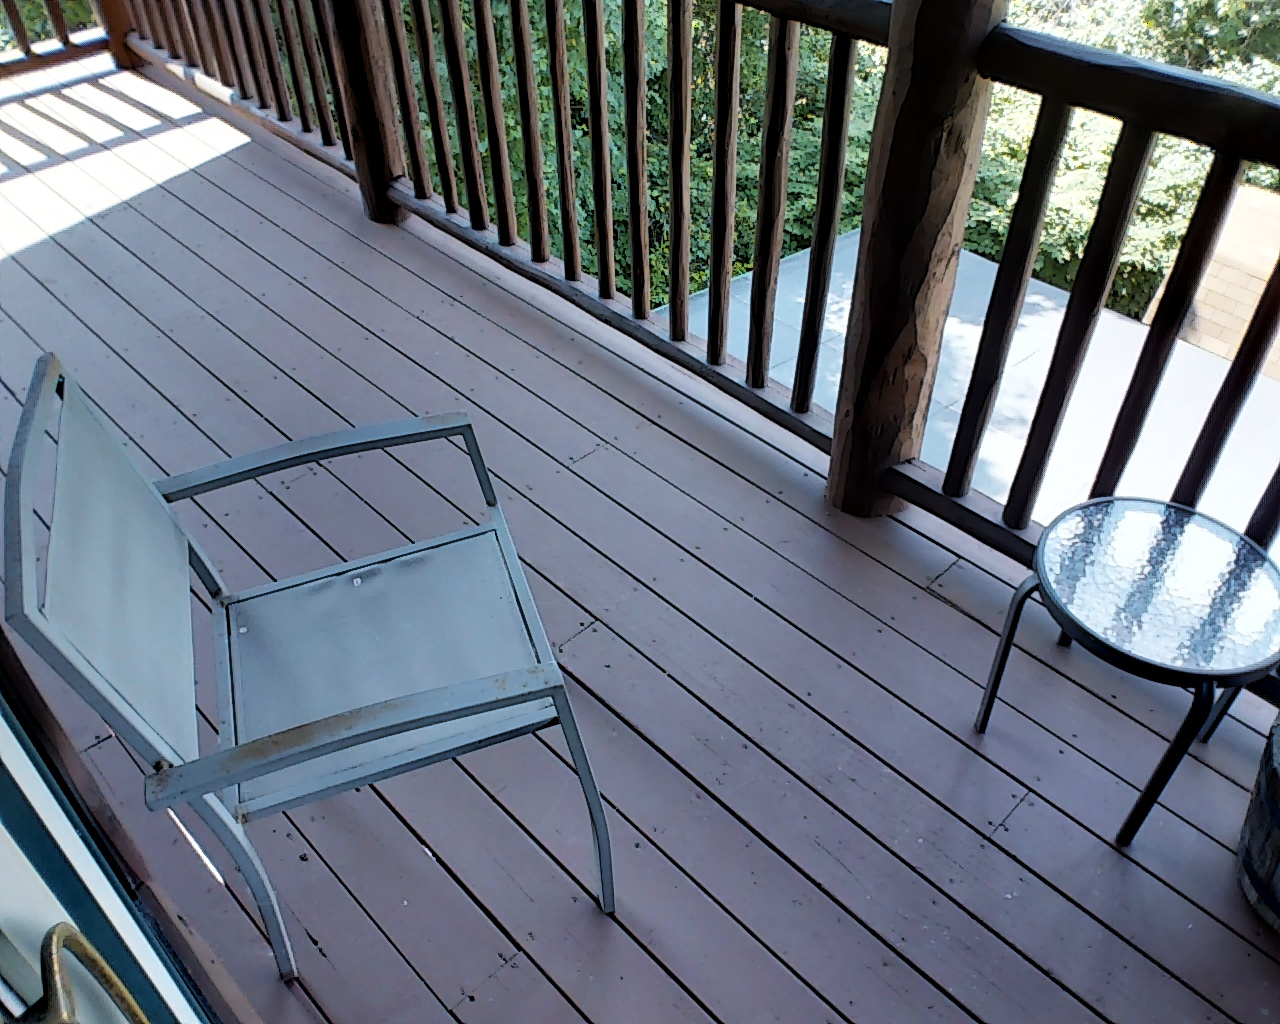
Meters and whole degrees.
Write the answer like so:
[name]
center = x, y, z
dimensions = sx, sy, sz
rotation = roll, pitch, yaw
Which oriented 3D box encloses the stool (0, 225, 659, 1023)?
[stool]
center = -0.440, 0.180, 1.570
dimensions = 0.740, 0.870, 0.640
rotation = -13, 43, -15
